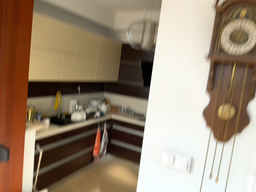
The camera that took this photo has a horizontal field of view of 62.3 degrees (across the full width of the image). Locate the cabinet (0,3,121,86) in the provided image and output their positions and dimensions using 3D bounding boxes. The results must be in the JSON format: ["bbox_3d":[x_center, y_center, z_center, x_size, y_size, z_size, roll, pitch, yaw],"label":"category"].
[{"bbox_3d":[-0.850,-0.630,3.370,0.350,0.850,2.390,10,8,24],"label":"cabinet"}]
